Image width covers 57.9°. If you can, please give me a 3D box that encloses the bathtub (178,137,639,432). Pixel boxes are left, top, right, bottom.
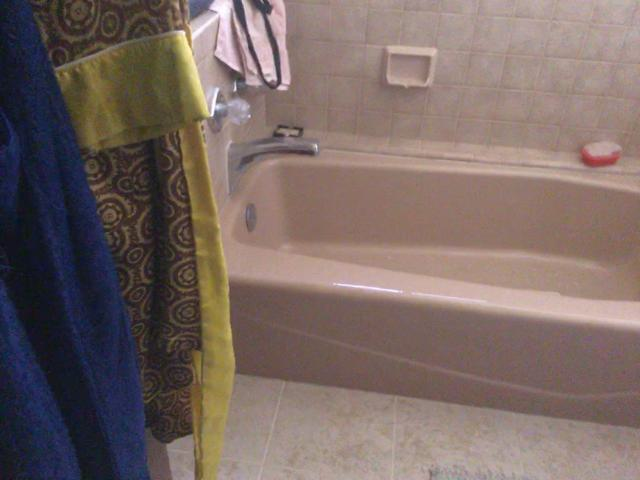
[{"bbox_3d":[0.590,0.080,1.670,1.740,0.330,0.810,5,36,8],"label":"bathtub"}]
